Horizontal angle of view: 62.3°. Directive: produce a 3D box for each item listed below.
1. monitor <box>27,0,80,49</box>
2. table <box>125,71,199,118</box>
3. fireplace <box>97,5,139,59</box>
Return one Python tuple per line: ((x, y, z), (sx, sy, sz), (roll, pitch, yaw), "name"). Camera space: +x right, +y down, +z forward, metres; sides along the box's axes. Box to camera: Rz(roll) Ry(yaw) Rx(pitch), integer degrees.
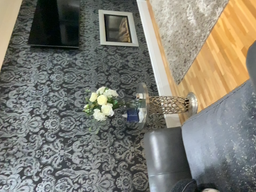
((-1.140, -1.260, 3.400), (0.070, 0.700, 1.330), (107, 159, -52), "monitor")
((0.370, -0.010, 2.490), (0.400, 0.710, 0.370), (108, 158, -54), "table")
((-0.220, -1.140, 3.770), (0.380, 0.620, 0.920), (108, 159, -53), "fireplace")
